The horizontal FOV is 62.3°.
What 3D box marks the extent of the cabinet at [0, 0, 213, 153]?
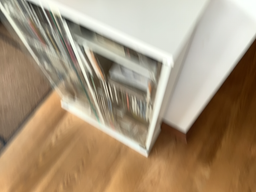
[{"bbox_3d":[-0.100,-0.090,0.860,0.570,0.870,0.190,29,68,15],"label":"cabinet"}]
